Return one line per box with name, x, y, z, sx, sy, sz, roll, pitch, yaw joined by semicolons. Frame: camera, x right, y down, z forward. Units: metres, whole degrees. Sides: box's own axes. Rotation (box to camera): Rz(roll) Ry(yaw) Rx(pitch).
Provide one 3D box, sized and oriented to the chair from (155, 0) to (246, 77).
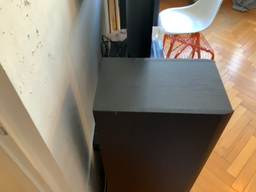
chair;0.580;-0.620;1.940;0.540;0.800;0.450;0;48;0
